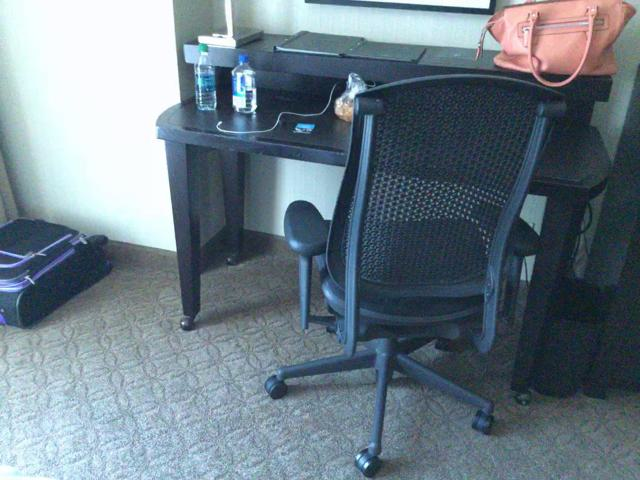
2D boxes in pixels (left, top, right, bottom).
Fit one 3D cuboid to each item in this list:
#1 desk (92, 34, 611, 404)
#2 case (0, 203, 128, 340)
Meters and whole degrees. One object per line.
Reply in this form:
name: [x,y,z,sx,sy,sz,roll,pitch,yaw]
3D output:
desk: [0.140,-0.080,1.990,1.450,0.960,0.620,-1,23,20]
case: [-1.140,0.090,2.240,0.480,0.260,0.550,6,25,20]
